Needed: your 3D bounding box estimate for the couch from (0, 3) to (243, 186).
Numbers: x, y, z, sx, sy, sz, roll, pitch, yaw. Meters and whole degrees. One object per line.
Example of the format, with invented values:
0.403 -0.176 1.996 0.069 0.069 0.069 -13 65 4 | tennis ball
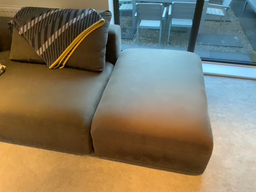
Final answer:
-0.460 -0.190 1.800 2.250 0.670 1.210 8 41 9 | couch
